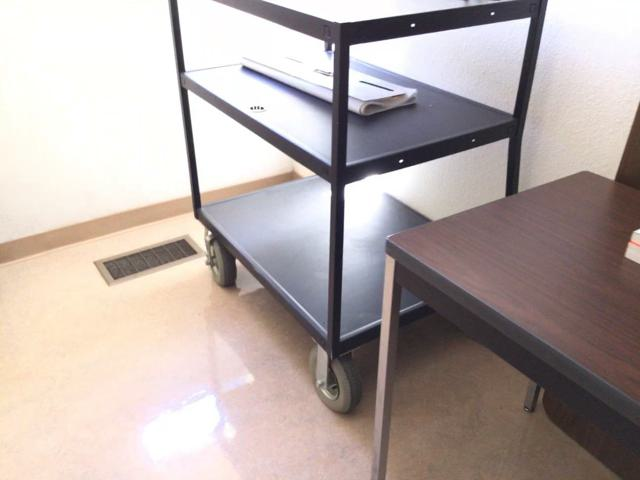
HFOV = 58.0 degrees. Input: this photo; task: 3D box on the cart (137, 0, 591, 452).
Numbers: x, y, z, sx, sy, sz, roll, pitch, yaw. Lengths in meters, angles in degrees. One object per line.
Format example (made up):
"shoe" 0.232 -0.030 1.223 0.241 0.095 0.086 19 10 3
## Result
"cart" 0.040 -0.250 1.910 0.780 1.150 1.120 -18 32 -32
